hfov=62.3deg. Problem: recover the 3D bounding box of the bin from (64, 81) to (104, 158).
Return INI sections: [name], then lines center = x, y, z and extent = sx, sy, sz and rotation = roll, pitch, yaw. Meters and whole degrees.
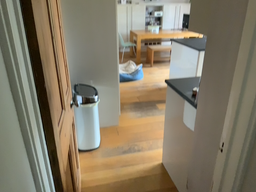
[bin]
center = -0.500, 0.250, 2.420
extent = 0.360, 0.710, 0.430
rotation = -7, 25, -15
